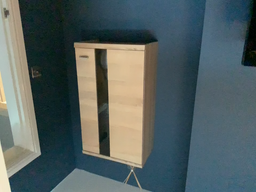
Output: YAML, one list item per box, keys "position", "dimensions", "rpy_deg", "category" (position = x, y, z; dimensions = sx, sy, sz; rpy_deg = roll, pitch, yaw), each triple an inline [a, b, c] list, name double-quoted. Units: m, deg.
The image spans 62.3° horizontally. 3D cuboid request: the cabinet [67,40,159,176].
- position: [-0.100, 0.060, 1.600]
  dimensions: [0.540, 0.900, 0.320]
  rpy_deg: [8, -160, 20]
  category: "cabinet"
